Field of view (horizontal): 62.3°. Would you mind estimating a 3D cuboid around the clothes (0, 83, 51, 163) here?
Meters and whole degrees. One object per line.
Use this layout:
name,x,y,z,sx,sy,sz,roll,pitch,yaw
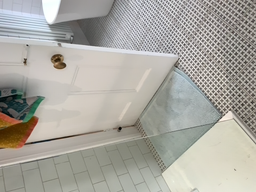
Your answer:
clothes,-0.830,0.170,0.940,0.480,0.830,0.160,-57,50,39
